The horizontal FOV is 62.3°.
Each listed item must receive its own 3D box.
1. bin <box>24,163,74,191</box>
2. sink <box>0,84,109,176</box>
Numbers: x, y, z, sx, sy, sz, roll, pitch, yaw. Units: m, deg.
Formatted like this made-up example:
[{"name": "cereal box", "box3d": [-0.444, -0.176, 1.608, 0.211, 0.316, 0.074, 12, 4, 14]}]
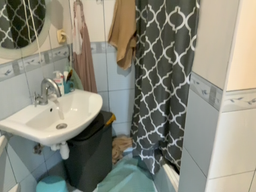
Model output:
[{"name": "bin", "box3d": [-0.560, 0.730, 1.550, 0.250, 0.300, 0.250, -19, 31, -35]}, {"name": "sink", "box3d": [-0.440, 0.170, 1.420, 0.360, 0.250, 0.610, 12, 28, 23]}]
